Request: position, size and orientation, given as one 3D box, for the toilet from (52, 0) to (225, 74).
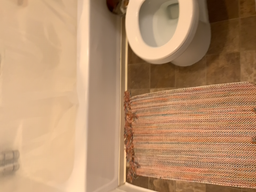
[{"bbox_3d":[0.140,-0.550,0.990,0.440,0.810,0.760,-1,86,34],"label":"toilet"}]
